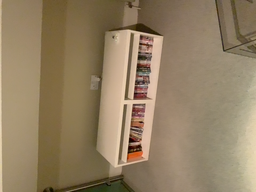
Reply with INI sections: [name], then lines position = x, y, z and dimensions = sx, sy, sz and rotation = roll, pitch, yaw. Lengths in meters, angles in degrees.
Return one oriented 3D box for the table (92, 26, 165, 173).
[table]
position = -0.030, 0.020, 2.080
dimensions = 0.480, 0.390, 1.260
rotation = 19, 106, 54
